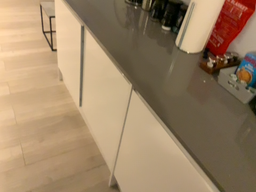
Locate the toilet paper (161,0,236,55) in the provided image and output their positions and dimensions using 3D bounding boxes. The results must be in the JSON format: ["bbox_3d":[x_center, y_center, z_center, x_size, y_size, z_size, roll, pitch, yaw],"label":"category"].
[{"bbox_3d":[0.340,-0.400,1.080,0.170,0.280,0.240,-10,45,-25],"label":"toilet paper"}]
